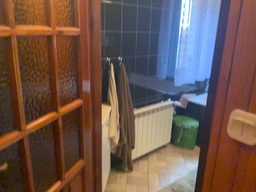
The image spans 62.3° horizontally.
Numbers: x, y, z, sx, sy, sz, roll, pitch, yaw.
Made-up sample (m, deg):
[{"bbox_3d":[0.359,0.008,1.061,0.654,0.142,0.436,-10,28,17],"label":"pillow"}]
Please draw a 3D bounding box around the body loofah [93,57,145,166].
[{"bbox_3d":[-0.110,0.140,2.250,0.380,1.040,0.370,-11,21,-35],"label":"body loofah"}]

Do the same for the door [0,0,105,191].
[{"bbox_3d":[-0.410,0.210,1.000,0.140,2.070,0.940,10,19,23],"label":"door"}]
